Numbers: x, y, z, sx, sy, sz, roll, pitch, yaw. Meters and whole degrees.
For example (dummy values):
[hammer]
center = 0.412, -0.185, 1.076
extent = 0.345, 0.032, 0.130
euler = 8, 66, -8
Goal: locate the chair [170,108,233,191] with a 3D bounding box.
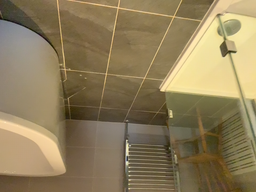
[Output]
[chair]
center = 0.760, 0.640, 2.250
extent = 0.400, 0.880, 0.360
euler = 21, 145, -34
